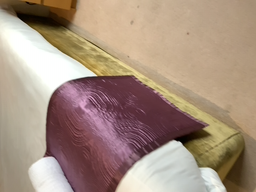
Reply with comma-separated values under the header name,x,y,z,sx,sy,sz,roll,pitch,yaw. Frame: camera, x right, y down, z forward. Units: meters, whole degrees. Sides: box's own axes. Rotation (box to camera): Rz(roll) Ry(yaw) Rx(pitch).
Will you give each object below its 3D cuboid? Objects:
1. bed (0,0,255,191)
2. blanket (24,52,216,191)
name,x,y,z,sx,sy,sz,roll,pitch,yaw
bed,-0.530,0.340,1.510,1.990,0.610,1.490,38,121,36
blanket,-0.240,0.650,1.070,0.460,0.410,1.640,39,122,35
